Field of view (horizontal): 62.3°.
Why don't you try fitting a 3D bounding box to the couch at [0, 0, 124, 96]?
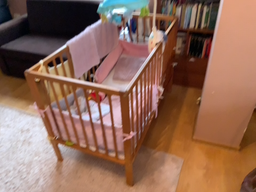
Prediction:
[{"bbox_3d":[-0.910,-0.730,2.690,1.480,0.850,0.870,12,39,17],"label":"couch"}]
